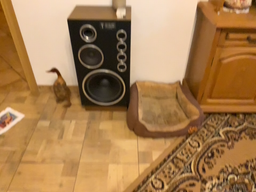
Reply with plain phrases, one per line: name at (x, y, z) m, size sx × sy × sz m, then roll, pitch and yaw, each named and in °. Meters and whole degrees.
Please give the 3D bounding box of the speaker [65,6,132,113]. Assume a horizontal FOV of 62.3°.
speaker at (-0.190, -0.250, 1.660) m, size 0.410 × 0.790 × 0.280 m, roll 0°, pitch 40°, yaw -1°

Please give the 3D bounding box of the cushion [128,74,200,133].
cushion at (0.260, 0.040, 1.790) m, size 0.500 × 0.180 × 0.540 m, roll 0°, pitch 40°, yaw -2°
